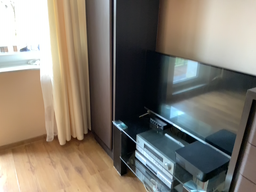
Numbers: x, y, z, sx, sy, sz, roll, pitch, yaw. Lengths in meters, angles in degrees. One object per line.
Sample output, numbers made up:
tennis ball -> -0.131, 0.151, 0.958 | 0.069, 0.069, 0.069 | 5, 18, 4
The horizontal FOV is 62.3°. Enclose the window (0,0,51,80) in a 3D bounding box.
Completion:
window -> -1.160, -0.950, 1.950 | 0.660, 1.580, 0.240 | -11, 25, -28

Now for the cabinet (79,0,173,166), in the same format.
cabinet -> -0.060, -0.410, 2.070 | 0.560, 1.970, 0.700 | -12, 26, -30
